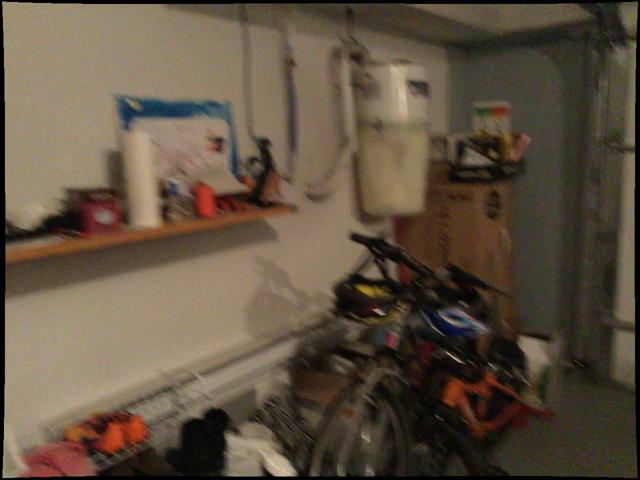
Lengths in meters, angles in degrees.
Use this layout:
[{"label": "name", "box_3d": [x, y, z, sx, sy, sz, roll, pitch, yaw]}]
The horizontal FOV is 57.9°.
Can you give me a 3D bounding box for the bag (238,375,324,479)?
[{"label": "bag", "box_3d": [-0.160, 0.811, 2.460, 0.220, 0.330, 0.290, 9, 17, 37]}]
